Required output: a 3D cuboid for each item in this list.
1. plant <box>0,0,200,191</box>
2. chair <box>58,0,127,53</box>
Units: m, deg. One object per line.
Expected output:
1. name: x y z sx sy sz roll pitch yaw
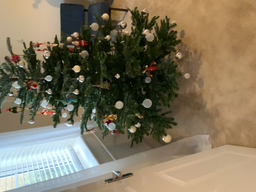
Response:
1. plant: -0.430 -0.140 1.910 1.070 1.650 1.300 26 117 57
2. chair: -0.520 -0.960 2.950 0.710 0.730 0.620 29 119 56
